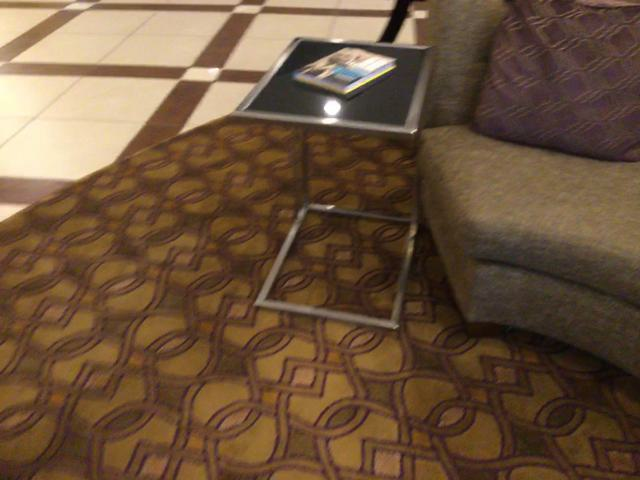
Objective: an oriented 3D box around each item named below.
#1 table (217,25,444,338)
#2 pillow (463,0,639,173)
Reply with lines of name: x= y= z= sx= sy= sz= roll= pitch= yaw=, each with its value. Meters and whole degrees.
table: x=0.070 y=-0.220 z=1.800 sx=0.500 sy=0.670 sz=0.700 roll=8 pitch=34 yaw=10
pillow: x=0.750 y=-0.510 z=1.710 sx=0.510 sy=0.430 sz=0.340 roll=18 pitch=24 yaw=10
